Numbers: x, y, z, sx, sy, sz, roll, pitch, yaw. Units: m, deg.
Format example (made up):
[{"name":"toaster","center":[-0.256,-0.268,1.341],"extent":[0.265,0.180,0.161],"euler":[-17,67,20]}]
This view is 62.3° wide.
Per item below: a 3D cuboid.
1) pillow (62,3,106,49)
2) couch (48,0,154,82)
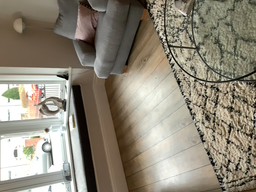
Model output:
[{"name":"pillow","center":[-0.550,-0.880,2.740],"extent":[0.550,0.260,0.120],"euler":[44,-153,-48]},{"name":"couch","center":[-0.470,-0.950,2.760],"extent":[0.870,1.060,1.120],"euler":[-2,-135,-28]}]
